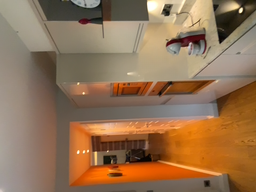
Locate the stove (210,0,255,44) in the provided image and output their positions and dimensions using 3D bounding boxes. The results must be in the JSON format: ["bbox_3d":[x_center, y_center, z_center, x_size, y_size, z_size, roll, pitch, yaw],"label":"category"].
[{"bbox_3d":[0.660,-0.680,1.270,0.590,0.030,0.500,111,157,-75],"label":"stove"}]
